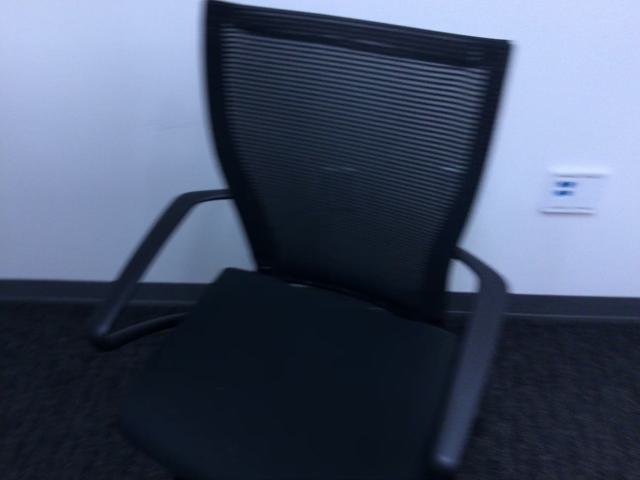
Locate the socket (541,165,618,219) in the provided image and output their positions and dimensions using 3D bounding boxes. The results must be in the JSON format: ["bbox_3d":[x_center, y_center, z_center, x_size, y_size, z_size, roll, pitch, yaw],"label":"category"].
[{"bbox_3d":[0.540,-0.100,1.210,0.120,0.120,0.020,4,44,8],"label":"socket"}]
